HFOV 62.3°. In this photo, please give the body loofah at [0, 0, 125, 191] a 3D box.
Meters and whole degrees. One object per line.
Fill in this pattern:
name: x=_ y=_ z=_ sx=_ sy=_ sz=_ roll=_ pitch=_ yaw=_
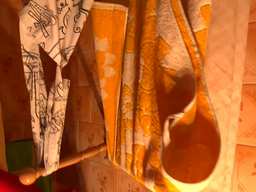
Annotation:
body loofah: x=-0.210 y=-0.150 z=0.480 sx=0.330 sy=0.690 sz=0.230 roll=2 pitch=-179 yaw=35
